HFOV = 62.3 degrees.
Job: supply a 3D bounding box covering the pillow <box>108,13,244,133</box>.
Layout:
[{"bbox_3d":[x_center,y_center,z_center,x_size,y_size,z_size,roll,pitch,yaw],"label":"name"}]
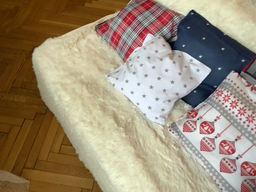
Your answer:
[{"bbox_3d":[0.190,-0.130,1.030,0.170,0.550,0.410,-40,140,-35],"label":"pillow"}]
